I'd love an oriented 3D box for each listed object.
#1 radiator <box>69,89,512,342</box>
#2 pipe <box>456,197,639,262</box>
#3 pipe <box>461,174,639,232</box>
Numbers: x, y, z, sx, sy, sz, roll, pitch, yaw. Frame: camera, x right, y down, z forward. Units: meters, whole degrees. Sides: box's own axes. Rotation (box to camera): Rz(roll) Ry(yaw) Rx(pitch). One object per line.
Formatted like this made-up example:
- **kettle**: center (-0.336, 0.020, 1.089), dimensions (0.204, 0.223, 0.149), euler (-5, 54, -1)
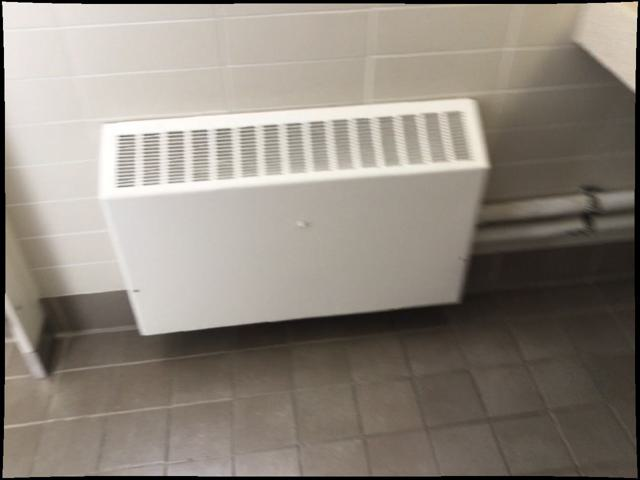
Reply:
- **radiator**: center (-0.050, -0.040, 1.390), dimensions (0.879, 0.530, 0.190), euler (-5, 42, -3)
- **pipe**: center (0.759, -0.040, 1.560), dimensions (0.769, 0.120, 0.060), euler (-5, 42, -3)
- **pipe**: center (0.759, -0.110, 1.510), dimensions (0.769, 0.090, 0.060), euler (-5, 42, -3)
